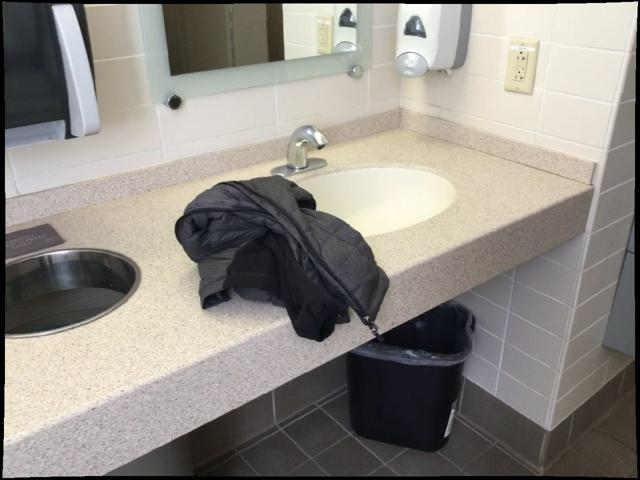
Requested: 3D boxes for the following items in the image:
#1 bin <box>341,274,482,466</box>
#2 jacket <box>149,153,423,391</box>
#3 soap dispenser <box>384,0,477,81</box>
[{"bbox_3d":[0.240,0.370,1.720,0.350,0.370,0.420,-1,28,2],"label":"bin"},{"bbox_3d":[-0.060,0.020,0.920,0.280,0.180,0.330,-20,33,-31],"label":"jacket"},{"bbox_3d":[0.270,-0.551,1.430,0.130,0.260,0.180,-20,33,-31],"label":"soap dispenser"}]
